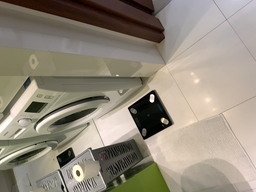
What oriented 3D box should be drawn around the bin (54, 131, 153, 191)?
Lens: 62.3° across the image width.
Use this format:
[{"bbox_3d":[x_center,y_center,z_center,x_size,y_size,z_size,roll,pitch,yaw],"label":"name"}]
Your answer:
[{"bbox_3d":[-0.160,0.510,1.580,0.380,0.580,0.270,-32,76,34],"label":"bin"}]
